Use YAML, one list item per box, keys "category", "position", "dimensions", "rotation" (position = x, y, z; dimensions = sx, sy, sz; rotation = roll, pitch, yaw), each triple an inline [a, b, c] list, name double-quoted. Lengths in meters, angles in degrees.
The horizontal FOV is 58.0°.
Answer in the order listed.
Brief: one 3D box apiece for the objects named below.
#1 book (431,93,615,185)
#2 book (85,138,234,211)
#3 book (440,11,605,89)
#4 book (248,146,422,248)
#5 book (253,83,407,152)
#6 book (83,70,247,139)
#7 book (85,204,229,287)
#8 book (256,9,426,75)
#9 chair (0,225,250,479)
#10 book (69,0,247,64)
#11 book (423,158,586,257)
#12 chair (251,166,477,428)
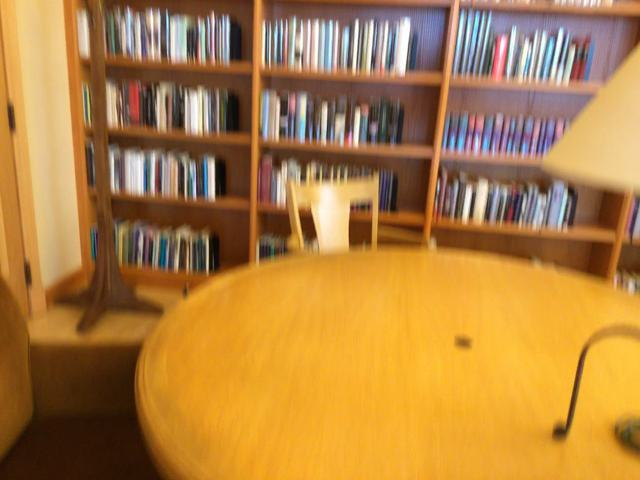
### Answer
- category: "book"
  position: [0.980, -0.520, 2.910]
  dimensions: [0.790, 0.400, 0.330]
  rotation: [2, 17, 6]
- category: "book"
  position: [-0.880, -0.380, 3.260]
  dimensions: [0.690, 0.320, 0.390]
  rotation: [2, 17, 6]
- category: "book"
  position: [0.940, -0.910, 2.780]
  dimensions: [0.670, 0.330, 0.310]
  rotation: [2, 17, 6]
- category: "book"
  position: [0.090, -0.250, 3.150]
  dimensions: [0.870, 0.440, 0.440]
  rotation: [2, 17, 6]
- category: "book"
  position: [0.060, -0.660, 3.070]
  dimensions: [0.770, 0.320, 0.320]
  rotation: [2, 17, 6]
- category: "book"
  position: [-0.820, -0.750, 3.150]
  dimensions: [0.760, 0.330, 0.370]
  rotation: [2, 17, 6]
- category: "book"
  position: [-0.930, 0.020, 3.390]
  dimensions: [0.690, 0.360, 0.390]
  rotation: [2, 17, 6]
- category: "book"
  position: [0.110, -1.010, 2.960]
  dimensions: [0.820, 0.300, 0.300]
  rotation: [2, 17, 6]
- category: "chair"
  position: [-0.590, 0.530, 1.270]
  dimensions: [0.800, 0.910, 0.880]
  rotation: [-1, 17, -4]
- category: "book"
  position: [-0.820, -1.100, 3.030]
  dimensions: [0.790, 0.330, 0.400]
  rotation: [2, 17, 6]
- category: "book"
  position: [0.930, -0.180, 3.020]
  dimensions: [0.730, 0.430, 0.300]
  rotation: [2, 17, 6]
- category: "chair"
  position: [0.140, 0.180, 2.470]
  dimensions: [0.710, 0.850, 0.650]
  rotation: [-6, 18, -19]
